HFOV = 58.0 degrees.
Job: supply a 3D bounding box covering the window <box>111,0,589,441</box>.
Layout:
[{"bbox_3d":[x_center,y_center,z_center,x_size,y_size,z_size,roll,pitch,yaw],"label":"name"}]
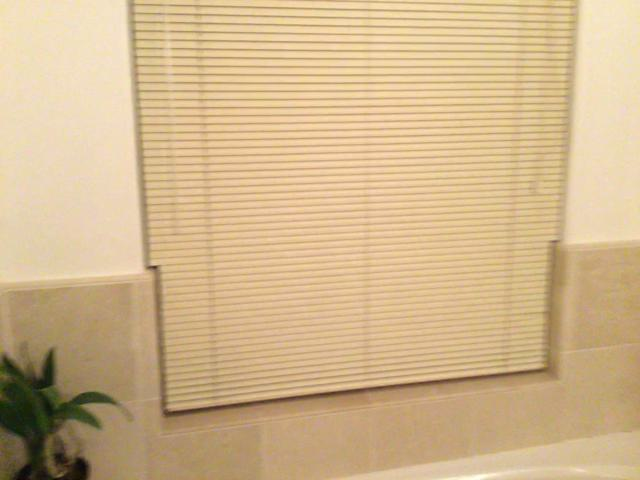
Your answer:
[{"bbox_3d":[0.150,-0.080,1.540,1.210,1.080,0.070,-6,10,-10],"label":"window"}]
